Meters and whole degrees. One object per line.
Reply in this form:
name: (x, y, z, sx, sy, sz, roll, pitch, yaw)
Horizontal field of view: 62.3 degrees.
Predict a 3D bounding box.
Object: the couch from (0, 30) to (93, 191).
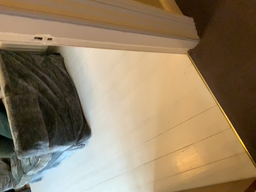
couch: (-1.480, 0.380, 2.620, 2.030, 0.870, 1.260, -39, 69, 43)
